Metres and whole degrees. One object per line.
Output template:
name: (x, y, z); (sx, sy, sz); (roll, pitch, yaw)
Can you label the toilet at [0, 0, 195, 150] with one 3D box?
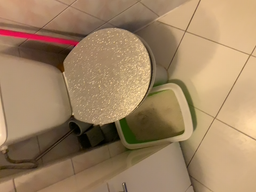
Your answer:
toilet: (-0.160, -0.070, 0.970); (0.640, 0.750, 0.380); (-21, 81, 31)
